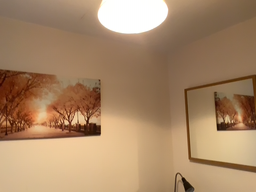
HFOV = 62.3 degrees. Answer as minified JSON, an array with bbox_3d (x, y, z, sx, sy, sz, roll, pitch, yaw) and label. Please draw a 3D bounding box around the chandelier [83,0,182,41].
[{"bbox_3d":[0.010,-0.500,0.970,0.360,0.340,0.260,-8,169,41],"label":"chandelier"}]
